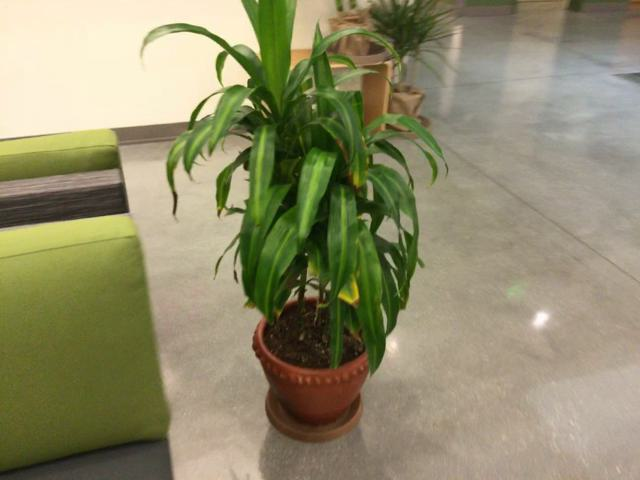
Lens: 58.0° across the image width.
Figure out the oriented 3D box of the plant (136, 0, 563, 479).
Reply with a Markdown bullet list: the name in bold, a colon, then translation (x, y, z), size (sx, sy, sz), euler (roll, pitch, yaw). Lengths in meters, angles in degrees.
- **plant**: translation (-0.010, -0.020, 1.360), size (0.620, 1.140, 0.600), euler (-10, 33, -18)

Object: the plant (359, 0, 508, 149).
- **plant**: translation (0.570, -0.970, 3.090), size (0.530, 0.760, 0.510), euler (-11, 33, -18)
